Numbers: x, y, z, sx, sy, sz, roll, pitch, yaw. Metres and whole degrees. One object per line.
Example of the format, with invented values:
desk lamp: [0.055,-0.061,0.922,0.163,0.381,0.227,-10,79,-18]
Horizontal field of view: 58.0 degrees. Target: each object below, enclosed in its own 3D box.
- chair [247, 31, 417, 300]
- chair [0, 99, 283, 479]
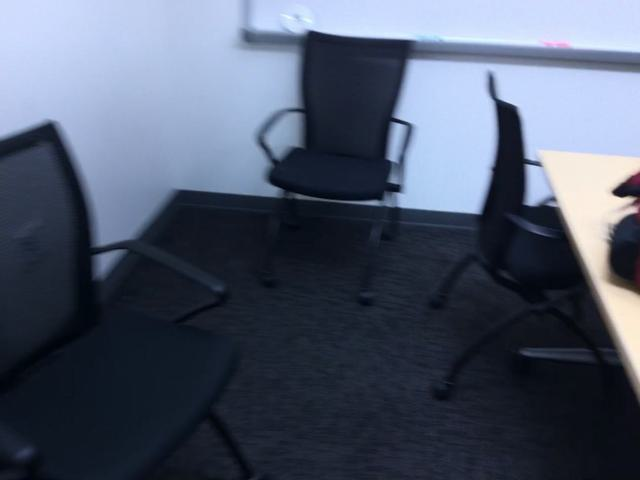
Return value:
chair: [0.080,-0.330,2.320,0.520,0.850,0.680,5,29,9]
chair: [-0.490,0.240,1.250,0.590,0.890,0.570,13,31,22]
